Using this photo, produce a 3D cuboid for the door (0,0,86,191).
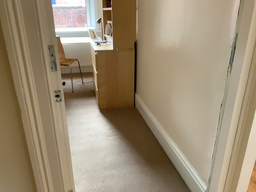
[{"bbox_3d":[-0.360,0.040,0.650,0.150,1.970,0.920,1,24,1],"label":"door"}]
